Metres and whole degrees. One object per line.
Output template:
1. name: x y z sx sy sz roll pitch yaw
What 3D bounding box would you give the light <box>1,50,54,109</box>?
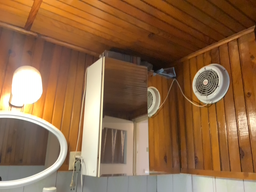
1. light: -0.470 -0.060 0.980 0.160 0.180 0.240 12 -19 -32
